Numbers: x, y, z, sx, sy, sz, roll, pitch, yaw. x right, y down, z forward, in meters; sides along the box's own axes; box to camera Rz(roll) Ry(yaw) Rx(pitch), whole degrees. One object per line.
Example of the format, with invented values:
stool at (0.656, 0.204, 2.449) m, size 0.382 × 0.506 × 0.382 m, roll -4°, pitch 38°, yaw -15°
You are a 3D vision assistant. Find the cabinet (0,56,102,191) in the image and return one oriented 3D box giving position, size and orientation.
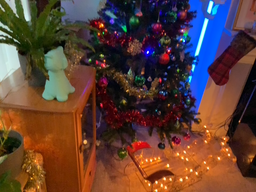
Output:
cabinet at (-0.520, 0.290, 1.480) m, size 0.550 × 0.920 × 0.580 m, roll 7°, pitch 31°, yaw 2°
